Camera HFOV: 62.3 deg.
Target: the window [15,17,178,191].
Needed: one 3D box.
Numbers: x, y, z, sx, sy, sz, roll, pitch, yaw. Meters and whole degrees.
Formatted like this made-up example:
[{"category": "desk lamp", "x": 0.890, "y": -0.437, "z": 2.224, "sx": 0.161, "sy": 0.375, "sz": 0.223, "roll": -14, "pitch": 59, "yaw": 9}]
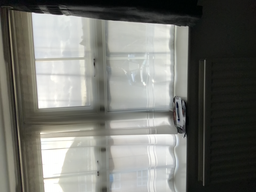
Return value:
[{"category": "window", "x": -0.160, "y": 0.160, "z": 1.480, "sx": 0.070, "sy": 1.030, "sz": 1.320, "roll": -144, "pitch": 52, "yaw": -76}]
